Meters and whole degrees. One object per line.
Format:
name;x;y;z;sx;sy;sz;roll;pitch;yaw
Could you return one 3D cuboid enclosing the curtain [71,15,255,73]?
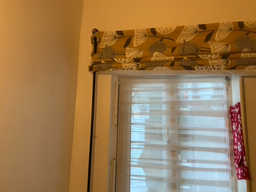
curtain;0.350;-0.380;1.610;0.160;1.570;0.330;45;-135;-77
